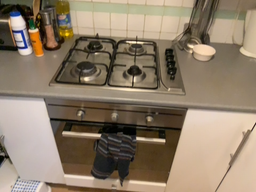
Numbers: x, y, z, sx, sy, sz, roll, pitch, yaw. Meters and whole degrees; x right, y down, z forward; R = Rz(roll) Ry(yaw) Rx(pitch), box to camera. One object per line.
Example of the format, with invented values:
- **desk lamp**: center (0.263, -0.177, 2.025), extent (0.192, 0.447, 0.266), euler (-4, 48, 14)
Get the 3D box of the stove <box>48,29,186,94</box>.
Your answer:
- **stove**: center (-0.030, -0.210, 1.100), extent (0.580, 0.030, 0.530), euler (4, 39, 1)
